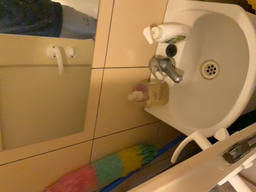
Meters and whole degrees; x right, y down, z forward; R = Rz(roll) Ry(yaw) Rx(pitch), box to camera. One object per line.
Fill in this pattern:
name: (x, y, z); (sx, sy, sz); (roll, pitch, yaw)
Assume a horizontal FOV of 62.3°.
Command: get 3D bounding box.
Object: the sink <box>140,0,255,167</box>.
sink: (0.250, -0.060, 0.690); (0.320, 0.160, 0.420); (33, 119, 41)
